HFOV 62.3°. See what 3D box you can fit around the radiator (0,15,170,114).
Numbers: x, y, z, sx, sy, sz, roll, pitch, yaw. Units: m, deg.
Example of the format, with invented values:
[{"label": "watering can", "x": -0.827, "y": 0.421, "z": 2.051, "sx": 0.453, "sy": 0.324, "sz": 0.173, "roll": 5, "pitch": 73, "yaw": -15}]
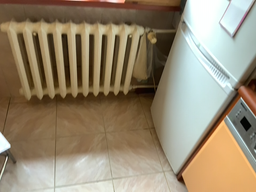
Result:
[{"label": "radiator", "x": -0.260, "y": -0.180, "z": 1.480, "sx": 0.940, "sy": 0.670, "sz": 0.160, "roll": -3, "pitch": 47, "yaw": -14}]
